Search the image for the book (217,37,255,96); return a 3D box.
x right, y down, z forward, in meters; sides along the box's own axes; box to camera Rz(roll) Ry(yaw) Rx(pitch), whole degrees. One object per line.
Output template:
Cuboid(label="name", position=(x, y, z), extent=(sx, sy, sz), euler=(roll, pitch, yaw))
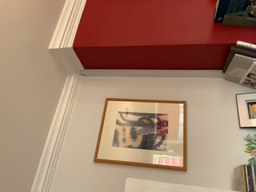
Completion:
Cuboid(label="book", position=(0.750, -0.170, 1.300), extent=(0.330, 0.310, 0.200), euler=(72, -158, -60))
